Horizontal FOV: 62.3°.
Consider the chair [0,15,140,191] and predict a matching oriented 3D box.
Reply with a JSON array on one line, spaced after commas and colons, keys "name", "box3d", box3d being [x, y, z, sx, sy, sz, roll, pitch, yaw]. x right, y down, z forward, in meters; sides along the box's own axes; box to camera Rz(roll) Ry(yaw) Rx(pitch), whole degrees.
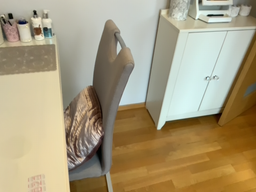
[{"name": "chair", "box3d": [-0.280, 0.180, 1.080, 0.500, 0.990, 0.490, -1, 39, -8]}]
